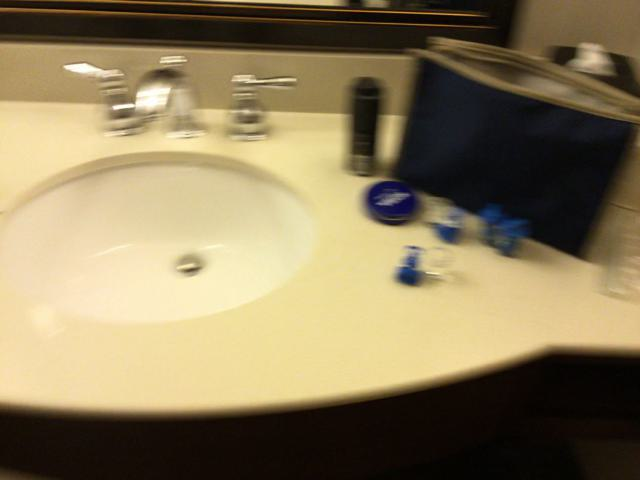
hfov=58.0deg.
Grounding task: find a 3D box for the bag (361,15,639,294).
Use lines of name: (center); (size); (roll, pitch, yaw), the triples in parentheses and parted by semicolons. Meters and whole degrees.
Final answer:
bag: (0.250, -0.130, 0.760); (0.310, 0.200, 0.210); (30, 47, 28)
